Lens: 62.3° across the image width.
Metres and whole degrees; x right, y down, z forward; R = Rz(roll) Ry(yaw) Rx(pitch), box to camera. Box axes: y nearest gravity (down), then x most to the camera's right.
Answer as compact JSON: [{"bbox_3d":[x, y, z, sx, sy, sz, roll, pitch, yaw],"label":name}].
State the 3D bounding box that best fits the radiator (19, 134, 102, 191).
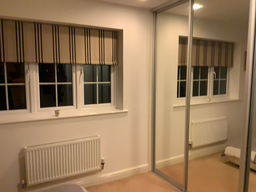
[{"bbox_3d":[-0.790,0.790,2.610,0.960,0.500,0.110,-4,7,-29],"label":"radiator"}]
